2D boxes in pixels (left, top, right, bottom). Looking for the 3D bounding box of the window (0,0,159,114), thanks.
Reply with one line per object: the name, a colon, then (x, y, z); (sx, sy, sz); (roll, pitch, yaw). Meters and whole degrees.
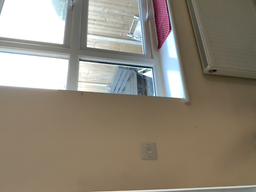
window: (-0.430, -0.710, 1.730); (0.080, 1.220, 1.740); (119, 151, -59)
